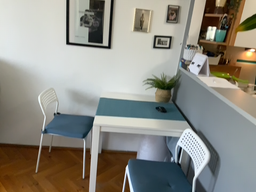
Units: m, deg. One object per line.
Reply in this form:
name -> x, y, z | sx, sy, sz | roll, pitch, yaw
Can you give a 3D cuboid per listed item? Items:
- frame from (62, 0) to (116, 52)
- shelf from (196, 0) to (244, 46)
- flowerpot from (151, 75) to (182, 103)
frame -> -0.380, -0.750, 2.050 | 0.490, 0.580, 0.050 | 4, 18, -8
shelf -> 0.850, -0.860, 1.900 | 0.220, 0.760, 0.290 | 5, 18, -5
flowerpot -> 0.390, -0.080, 2.200 | 0.270, 0.220, 0.170 | 7, 18, 0
